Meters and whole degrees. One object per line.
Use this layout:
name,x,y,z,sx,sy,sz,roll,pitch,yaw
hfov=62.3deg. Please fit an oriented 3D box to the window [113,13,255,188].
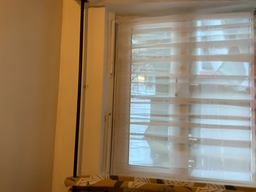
window,0.390,0.000,1.390,0.060,0.940,1.070,31,-119,-77
